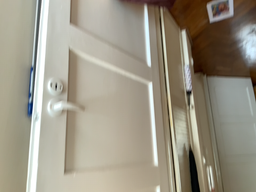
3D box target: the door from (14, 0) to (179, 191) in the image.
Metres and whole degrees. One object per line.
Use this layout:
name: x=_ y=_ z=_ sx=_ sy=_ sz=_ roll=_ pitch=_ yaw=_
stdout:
door: x=-0.050 y=0.040 z=1.060 sx=0.150 sy=2.010 sz=0.870 roll=-13 pitch=161 yaw=36
